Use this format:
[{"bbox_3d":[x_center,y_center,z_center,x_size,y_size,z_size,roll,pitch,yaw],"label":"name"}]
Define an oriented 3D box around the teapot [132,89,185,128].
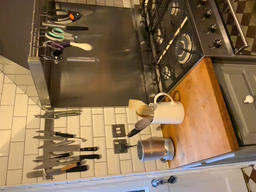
[{"bbox_3d":[0.160,0.070,1.170,0.150,0.220,0.170,121,145,-62],"label":"teapot"}]
